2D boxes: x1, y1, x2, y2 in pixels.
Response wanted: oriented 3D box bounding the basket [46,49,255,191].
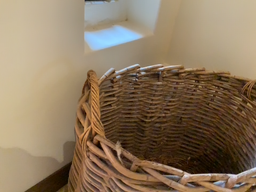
[{"bbox_3d":[0.230,0.330,1.220,1.150,0.840,0.760,2,37,-12],"label":"basket"}]
